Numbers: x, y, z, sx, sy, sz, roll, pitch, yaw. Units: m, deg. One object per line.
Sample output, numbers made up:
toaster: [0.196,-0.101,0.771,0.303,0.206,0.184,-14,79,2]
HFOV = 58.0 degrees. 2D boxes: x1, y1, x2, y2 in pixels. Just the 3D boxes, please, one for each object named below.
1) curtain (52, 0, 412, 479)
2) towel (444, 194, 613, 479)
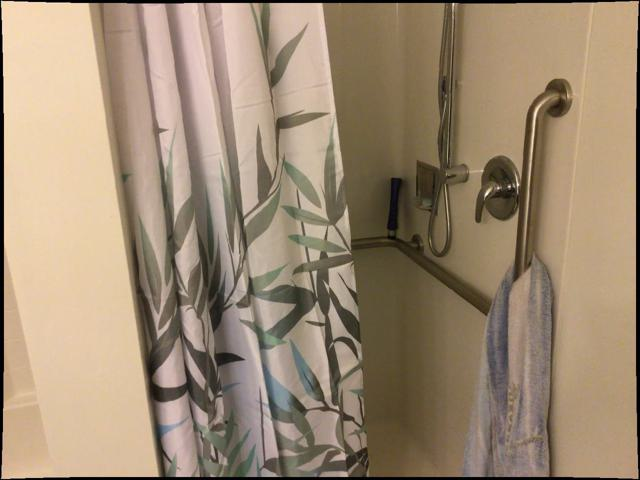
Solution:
curtain: [-0.100,0.251,1.120,0.469,1.794,0.290,-16,24,-30]
towel: [0.469,0.361,1.410,0.170,0.872,0.330,-8,21,-14]
